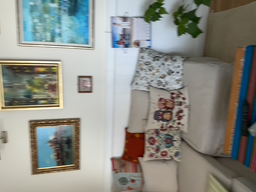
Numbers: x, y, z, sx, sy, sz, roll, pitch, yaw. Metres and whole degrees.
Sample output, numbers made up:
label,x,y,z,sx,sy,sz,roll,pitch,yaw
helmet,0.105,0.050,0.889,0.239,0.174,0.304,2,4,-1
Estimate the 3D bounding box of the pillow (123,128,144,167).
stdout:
label,x,y,z,sx,sy,sz,roll,pitch,yaw
pillow,0.060,0.570,2.370,0.170,0.170,0.370,-138,50,-68
